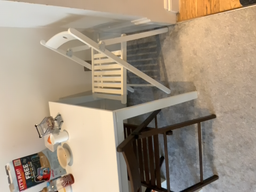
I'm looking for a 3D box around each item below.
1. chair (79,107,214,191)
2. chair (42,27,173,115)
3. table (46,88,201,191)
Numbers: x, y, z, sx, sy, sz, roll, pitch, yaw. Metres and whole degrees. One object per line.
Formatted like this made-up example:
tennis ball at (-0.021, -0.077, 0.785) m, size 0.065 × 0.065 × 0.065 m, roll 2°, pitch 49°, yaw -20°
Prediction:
chair at (0.150, 0.380, 1.360) m, size 0.450 × 0.730 × 0.460 m, roll 2°, pitch 100°, yaw 49°
chair at (-0.130, -0.200, 1.550) m, size 0.560 × 0.730 × 0.460 m, roll 7°, pitch 104°, yaw 48°
table at (-0.030, 0.380, 1.550) m, size 0.790 × 0.750 × 0.770 m, roll 5°, pitch 103°, yaw 48°
